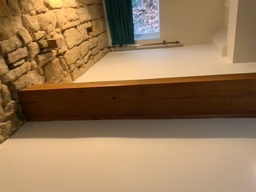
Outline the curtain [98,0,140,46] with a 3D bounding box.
[{"bbox_3d":[-0.220,-1.990,3.160,0.580,2.390,0.240,-3,-154,8],"label":"curtain"}]
